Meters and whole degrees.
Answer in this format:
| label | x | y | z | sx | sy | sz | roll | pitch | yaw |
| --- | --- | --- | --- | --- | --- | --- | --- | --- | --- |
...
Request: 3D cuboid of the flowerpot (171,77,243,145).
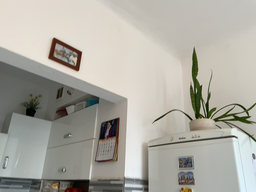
| label | x | y | z | sx | sy | sz | roll | pitch | yaw |
| --- | --- | --- | --- | --- | --- | --- | --- | --- | --- |
| flowerpot | 0.580 | 0.140 | 1.570 | 0.430 | 0.350 | 0.300 | 23 | -31 | -39 |
